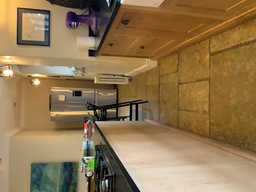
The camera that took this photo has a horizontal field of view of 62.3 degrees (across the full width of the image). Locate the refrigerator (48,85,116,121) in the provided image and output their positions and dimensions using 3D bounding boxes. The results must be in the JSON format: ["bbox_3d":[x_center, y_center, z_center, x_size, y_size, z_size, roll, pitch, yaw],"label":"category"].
[{"bbox_3d":[-1.310,0.210,6.140,0.770,1.770,0.950,177,94,-76],"label":"refrigerator"}]
